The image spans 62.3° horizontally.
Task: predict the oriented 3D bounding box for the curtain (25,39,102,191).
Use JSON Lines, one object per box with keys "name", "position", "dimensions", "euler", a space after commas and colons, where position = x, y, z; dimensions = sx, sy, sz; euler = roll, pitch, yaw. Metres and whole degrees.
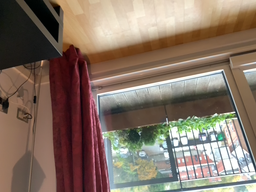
{"name": "curtain", "position": [-0.390, 0.630, 1.330], "dimensions": [0.400, 2.230, 0.250], "euler": [-8, 155, 5]}
